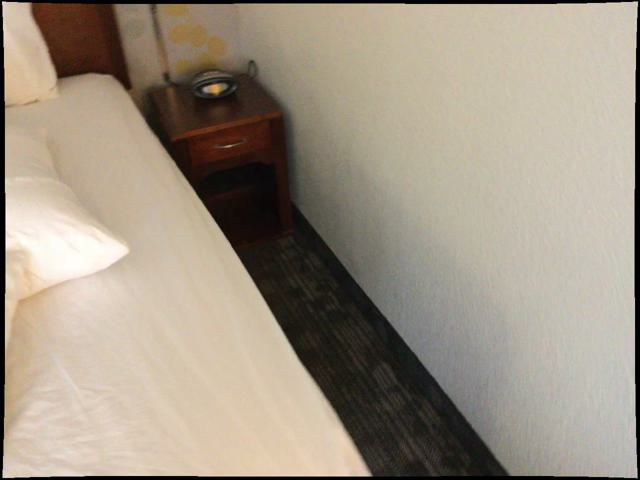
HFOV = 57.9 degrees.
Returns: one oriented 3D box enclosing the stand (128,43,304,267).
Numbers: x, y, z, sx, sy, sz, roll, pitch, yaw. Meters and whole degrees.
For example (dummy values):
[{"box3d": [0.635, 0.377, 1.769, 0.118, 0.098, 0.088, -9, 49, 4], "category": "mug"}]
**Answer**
[{"box3d": [-0.400, -0.350, 2.250, 0.440, 0.570, 0.590, -18, 42, -19], "category": "stand"}]
